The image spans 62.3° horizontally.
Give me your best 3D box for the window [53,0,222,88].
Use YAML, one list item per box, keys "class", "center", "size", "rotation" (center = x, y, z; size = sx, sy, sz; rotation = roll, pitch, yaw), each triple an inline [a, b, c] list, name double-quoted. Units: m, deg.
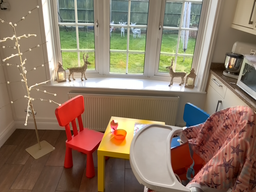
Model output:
- class: "window"
  center: [0.080, -0.840, 2.510]
  size: [1.860, 1.420, 0.120]
  rotation: [4, 25, 1]
